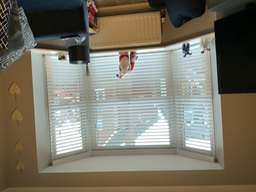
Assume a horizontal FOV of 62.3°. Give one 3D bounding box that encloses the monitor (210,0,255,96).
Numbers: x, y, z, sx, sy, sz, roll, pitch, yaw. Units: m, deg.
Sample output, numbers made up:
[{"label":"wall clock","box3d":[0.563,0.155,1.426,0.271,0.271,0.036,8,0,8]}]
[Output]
[{"label":"monitor","box3d":[1.140,-0.390,1.550,0.070,0.760,1.250,-4,-179,-26]}]
